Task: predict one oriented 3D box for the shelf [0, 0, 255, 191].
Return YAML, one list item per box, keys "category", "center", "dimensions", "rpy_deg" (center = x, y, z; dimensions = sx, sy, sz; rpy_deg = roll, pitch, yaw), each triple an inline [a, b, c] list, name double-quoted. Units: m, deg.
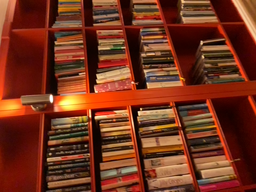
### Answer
- category: "shelf"
  center: [0.100, -0.450, 1.820]
  dimensions: [0.460, 2.060, 3.690]
  rpy_deg: [101, 163, -60]
